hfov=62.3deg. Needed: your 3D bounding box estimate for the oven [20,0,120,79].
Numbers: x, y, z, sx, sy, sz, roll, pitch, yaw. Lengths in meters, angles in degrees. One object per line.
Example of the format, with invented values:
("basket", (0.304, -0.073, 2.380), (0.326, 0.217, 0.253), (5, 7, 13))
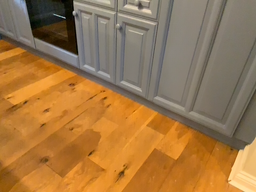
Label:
("oven", (-0.520, -0.740, 2.000), (0.660, 0.820, 0.580), (25, 42, 25))
